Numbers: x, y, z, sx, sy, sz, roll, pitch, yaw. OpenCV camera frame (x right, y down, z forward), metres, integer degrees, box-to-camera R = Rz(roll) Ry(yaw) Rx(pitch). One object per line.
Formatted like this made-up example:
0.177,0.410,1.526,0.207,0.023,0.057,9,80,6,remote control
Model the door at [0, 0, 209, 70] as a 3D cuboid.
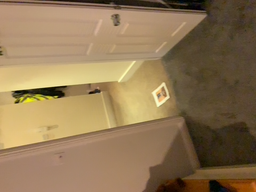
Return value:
-0.380,-0.450,1.760,0.880,1.950,0.080,-30,70,63,door
